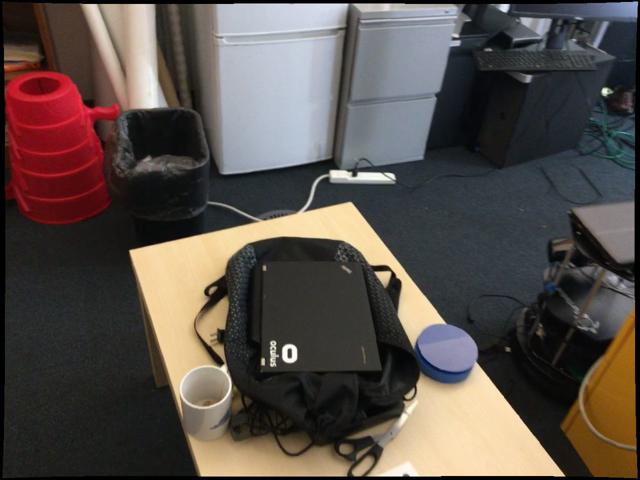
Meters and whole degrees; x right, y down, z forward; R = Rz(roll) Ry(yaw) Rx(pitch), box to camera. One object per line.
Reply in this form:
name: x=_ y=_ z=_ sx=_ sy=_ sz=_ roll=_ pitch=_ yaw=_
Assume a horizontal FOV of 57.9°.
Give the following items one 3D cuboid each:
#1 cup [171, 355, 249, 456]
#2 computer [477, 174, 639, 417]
cup: x=-0.180 y=0.270 z=0.950 sx=0.100 sy=0.100 sz=0.100 roll=-12 pitch=46 yaw=-19
computer: x=0.739 y=0.150 z=1.570 sx=0.360 sy=0.500 sz=0.340 roll=-12 pitch=46 yaw=-19
